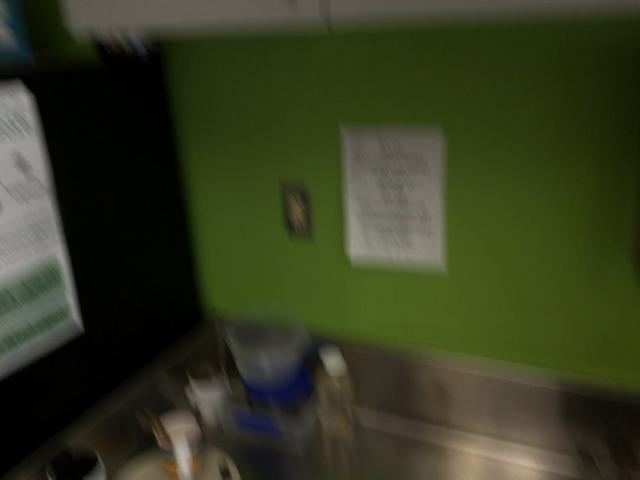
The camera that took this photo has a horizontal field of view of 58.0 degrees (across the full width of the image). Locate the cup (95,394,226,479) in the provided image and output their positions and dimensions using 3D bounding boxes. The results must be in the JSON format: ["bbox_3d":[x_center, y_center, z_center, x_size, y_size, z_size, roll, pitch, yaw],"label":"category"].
[{"bbox_3d":[-0.320,0.430,1.180,0.180,0.120,0.170,6,19,25],"label":"cup"}]

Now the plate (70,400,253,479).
[{"bbox_3d":[-0.300,0.440,1.130,0.240,0.090,0.240,6,19,25],"label":"plate"}]

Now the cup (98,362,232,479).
[{"bbox_3d":[-0.320,0.380,1.220,0.180,0.140,0.190,6,19,25],"label":"cup"}]
